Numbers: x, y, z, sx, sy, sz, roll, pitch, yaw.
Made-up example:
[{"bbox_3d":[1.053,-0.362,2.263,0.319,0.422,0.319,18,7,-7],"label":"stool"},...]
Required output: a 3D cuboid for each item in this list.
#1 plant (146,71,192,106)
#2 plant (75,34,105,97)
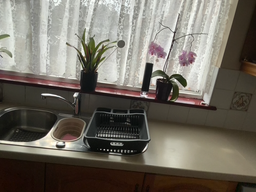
[{"bbox_3d":[0.300,-0.060,1.590,0.280,0.200,0.140,7,18,-5],"label":"plant"},{"bbox_3d":[-0.270,-0.220,1.520,0.160,0.400,0.190,7,18,-6],"label":"plant"}]
